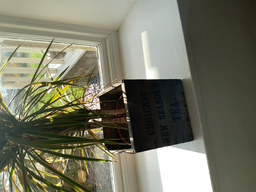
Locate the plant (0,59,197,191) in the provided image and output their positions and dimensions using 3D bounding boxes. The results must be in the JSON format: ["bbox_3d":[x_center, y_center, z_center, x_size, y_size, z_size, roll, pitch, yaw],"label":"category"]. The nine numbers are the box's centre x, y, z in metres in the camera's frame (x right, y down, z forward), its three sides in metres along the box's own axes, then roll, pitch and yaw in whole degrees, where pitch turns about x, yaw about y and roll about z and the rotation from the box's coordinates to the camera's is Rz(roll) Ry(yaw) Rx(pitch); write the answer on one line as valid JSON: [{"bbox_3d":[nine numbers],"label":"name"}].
[{"bbox_3d":[-0.130,0.110,0.650,0.290,0.590,0.350,-16,79,58],"label":"plant"}]
